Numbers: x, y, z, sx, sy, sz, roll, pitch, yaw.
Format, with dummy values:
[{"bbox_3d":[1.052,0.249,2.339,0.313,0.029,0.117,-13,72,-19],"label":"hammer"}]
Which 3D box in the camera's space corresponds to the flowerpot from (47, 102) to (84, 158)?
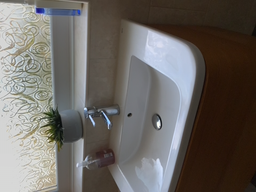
[{"bbox_3d":[-0.310,0.160,1.040,0.150,0.140,0.200,48,136,48],"label":"flowerpot"}]
